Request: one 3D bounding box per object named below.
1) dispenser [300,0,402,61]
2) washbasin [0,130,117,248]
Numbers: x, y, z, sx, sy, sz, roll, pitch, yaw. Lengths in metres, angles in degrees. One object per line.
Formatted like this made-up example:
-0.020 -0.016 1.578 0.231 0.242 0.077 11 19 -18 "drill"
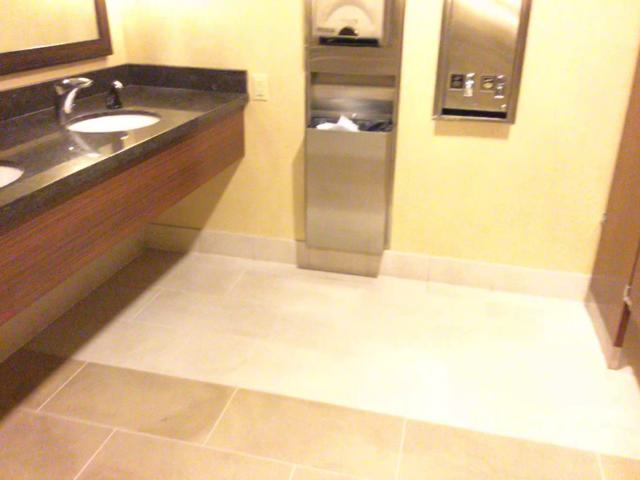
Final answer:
0.130 -0.970 2.370 0.390 0.430 0.140 7 20 14 "dispenser"
-0.860 -0.130 1.420 0.410 0.170 0.590 7 20 14 "washbasin"
